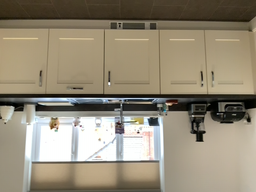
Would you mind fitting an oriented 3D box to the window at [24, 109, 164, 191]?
[{"bbox_3d":[-0.430,0.760,2.930,1.800,1.140,0.240,0,172,-3],"label":"window"}]
